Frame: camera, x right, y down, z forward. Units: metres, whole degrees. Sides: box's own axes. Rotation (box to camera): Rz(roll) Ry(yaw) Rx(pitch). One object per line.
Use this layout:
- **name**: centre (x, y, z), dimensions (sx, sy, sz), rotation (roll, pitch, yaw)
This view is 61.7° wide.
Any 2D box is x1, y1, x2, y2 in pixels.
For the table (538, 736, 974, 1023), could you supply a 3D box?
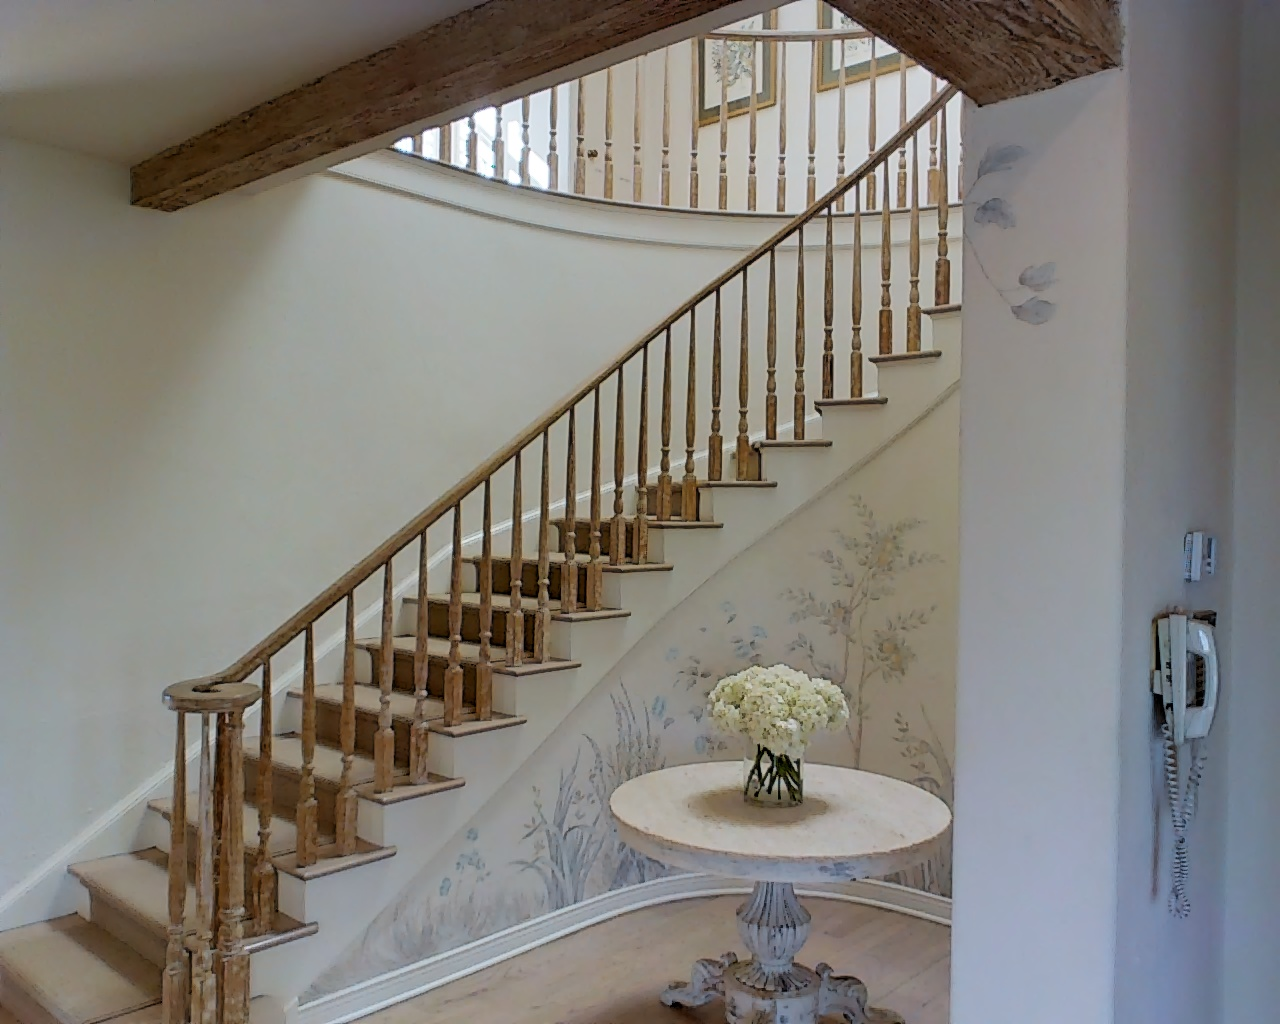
- **table**: centre (0.420, 1.230, 3.270), dimensions (1.080, 0.780, 1.100), rotation (1, 0, 20)

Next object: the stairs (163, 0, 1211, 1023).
- **stairs**: centre (0.040, 0.010, 4.250), dimensions (2.840, 4.541, 2.290), rotation (12, 7, 42)
